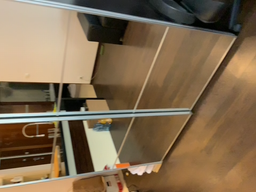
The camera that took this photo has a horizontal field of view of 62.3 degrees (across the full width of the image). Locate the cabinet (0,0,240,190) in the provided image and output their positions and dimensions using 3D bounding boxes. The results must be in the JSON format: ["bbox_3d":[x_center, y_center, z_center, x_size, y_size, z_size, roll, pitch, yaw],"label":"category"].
[{"bbox_3d":[-0.620,-0.030,1.650,0.640,2.440,1.540,-117,37,-43],"label":"cabinet"}]
